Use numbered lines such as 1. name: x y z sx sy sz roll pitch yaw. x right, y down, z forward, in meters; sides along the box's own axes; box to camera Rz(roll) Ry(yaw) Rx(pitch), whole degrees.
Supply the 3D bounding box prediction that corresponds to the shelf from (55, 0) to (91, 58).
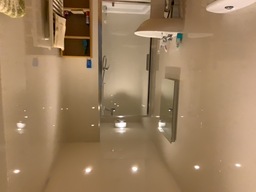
1. shelf: -0.740 -1.070 2.910 0.430 1.060 0.310 0 -170 -8
